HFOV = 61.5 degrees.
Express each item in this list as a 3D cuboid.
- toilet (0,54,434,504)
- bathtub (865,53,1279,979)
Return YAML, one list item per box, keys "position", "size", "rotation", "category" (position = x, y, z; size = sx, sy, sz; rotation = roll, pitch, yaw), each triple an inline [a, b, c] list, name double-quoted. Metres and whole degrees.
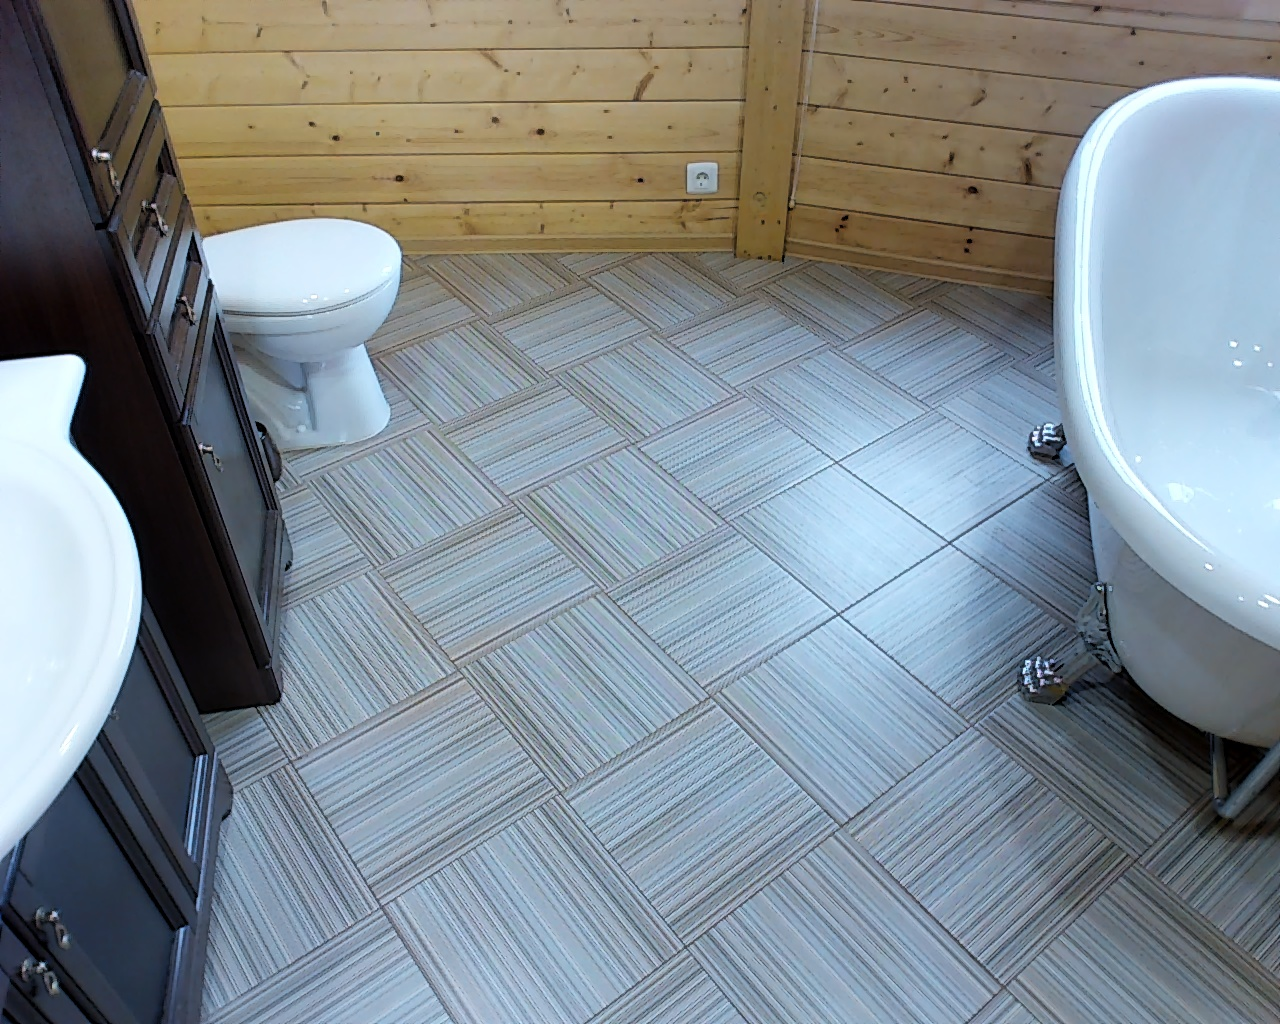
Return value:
- position: [-0.860, -0.480, 2.290]
  size: [0.720, 0.800, 0.370]
  rotation: [-7, 43, -9]
  category: "toilet"
- position: [1.140, -0.140, 2.010]
  size: [0.960, 0.710, 1.730]
  rotation: [15, 44, 15]
  category: "bathtub"
